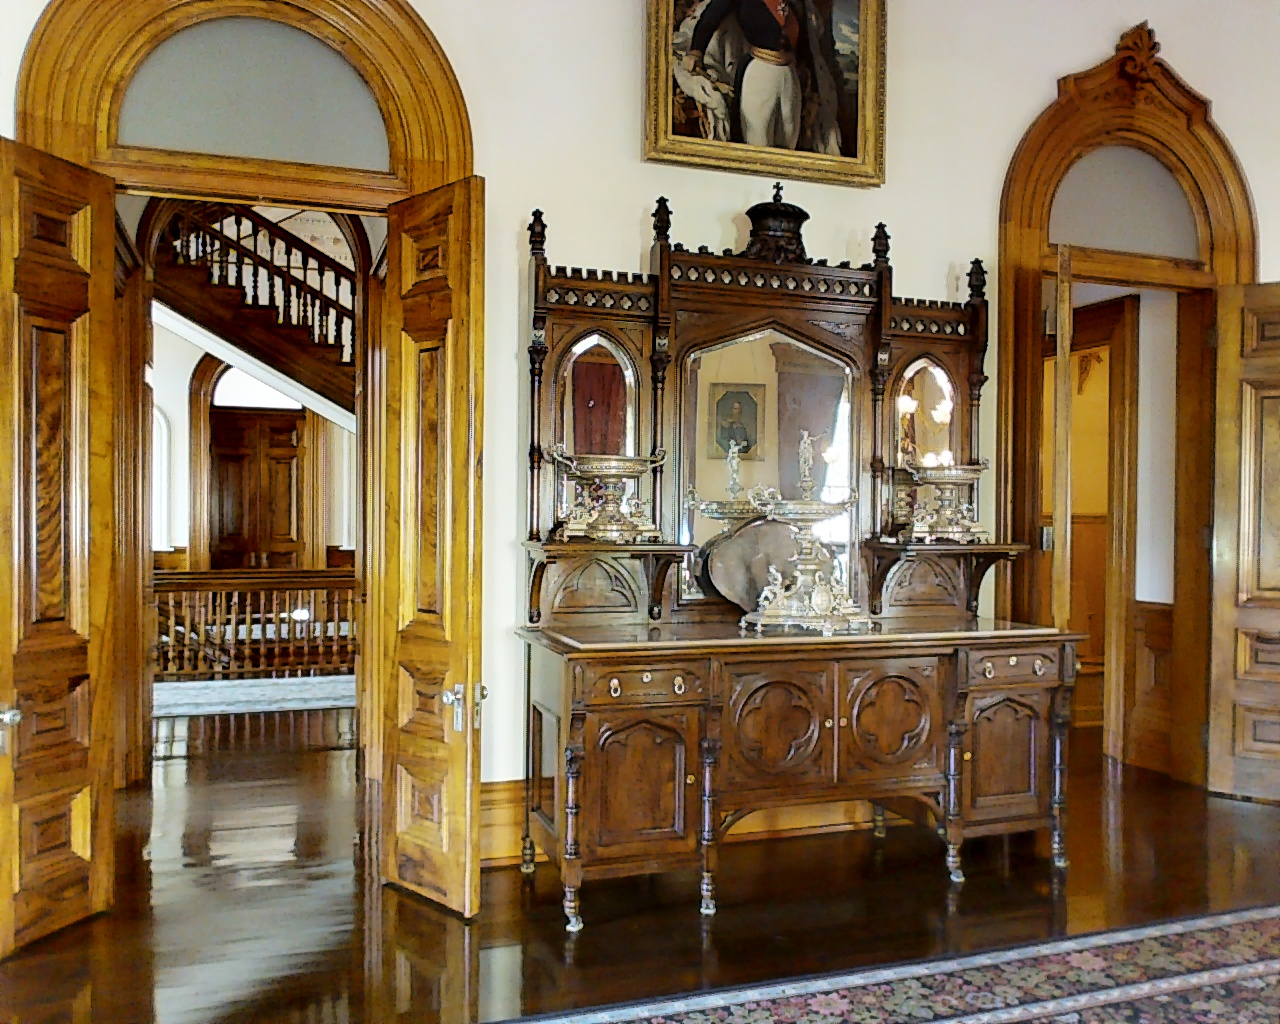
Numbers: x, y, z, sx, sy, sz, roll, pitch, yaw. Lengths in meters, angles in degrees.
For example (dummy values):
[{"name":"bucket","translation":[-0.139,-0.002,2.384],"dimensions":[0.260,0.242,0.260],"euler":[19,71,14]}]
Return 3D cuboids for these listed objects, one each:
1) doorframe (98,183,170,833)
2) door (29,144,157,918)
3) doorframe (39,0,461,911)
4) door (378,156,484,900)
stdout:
[{"name":"doorframe","translation":[-2.640,-0.020,5.660],"dimensions":[0.150,2.970,1.530],"euler":[1,0,-19]},{"name":"door","translation":[-2.120,0.070,4.180],"dimensions":[0.240,2.860,0.350],"euler":[1,0,19]},{"name":"doorframe","translation":[-1.590,-0.510,4.550],"dimensions":[1.540,4.021,0.600],"euler":[1,0,-18]},{"name":"door","translation":[-0.870,0.060,4.430],"dimensions":[0.150,2.870,0.590],"euler":[1,0,-38]}]
